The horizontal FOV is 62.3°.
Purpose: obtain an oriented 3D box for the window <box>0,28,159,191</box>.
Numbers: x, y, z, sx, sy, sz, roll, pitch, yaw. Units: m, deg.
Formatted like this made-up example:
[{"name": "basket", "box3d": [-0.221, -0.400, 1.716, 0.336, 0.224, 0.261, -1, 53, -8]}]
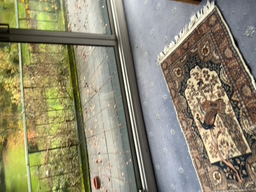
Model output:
[{"name": "window", "box3d": [-0.720, 0.750, 1.530, 0.220, 2.060, 2.580, -29, 68, 61]}]
